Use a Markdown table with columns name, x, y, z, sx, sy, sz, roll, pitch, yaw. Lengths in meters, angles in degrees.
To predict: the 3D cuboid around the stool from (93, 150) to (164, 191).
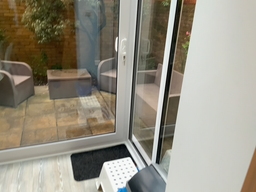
| name | x | y | z | sx | sy | sz | roll | pitch | yaw |
| --- | --- | --- | --- | --- | --- | --- | --- | --- | --- |
| stool | -0.020 | 0.700 | 1.690 | 0.430 | 0.240 | 0.430 | -5 | 25 | -20 |
